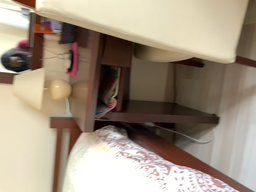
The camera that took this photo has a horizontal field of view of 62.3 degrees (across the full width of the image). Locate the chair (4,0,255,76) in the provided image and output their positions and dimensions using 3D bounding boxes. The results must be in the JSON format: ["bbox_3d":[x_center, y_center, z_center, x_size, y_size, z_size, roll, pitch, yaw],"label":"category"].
[{"bbox_3d":[0.160,-0.360,0.780,0.530,1.000,0.460,-150,67,-63],"label":"chair"}]

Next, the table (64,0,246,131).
[{"bbox_3d":[0.120,-0.360,1.160,0.530,0.760,0.970,-161,76,-64],"label":"table"}]
